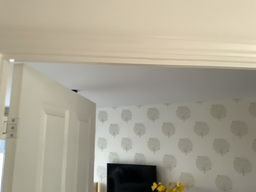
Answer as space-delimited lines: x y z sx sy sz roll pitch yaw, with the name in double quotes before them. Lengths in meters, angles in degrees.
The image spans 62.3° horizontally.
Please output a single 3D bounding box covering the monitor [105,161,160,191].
"monitor" 0.060 1.400 3.530 0.960 0.540 0.070 -4 -11 24
